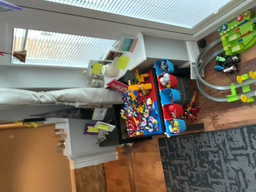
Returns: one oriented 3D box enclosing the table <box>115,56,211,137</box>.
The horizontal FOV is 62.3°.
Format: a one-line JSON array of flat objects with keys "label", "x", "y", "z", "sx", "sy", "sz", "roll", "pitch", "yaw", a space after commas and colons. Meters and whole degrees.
[{"label": "table", "x": 0.280, "y": 0.040, "z": 1.980, "sx": 0.670, "sy": 0.470, "sz": 0.580, "roll": -25, "pitch": 71, "yaw": 57}]
